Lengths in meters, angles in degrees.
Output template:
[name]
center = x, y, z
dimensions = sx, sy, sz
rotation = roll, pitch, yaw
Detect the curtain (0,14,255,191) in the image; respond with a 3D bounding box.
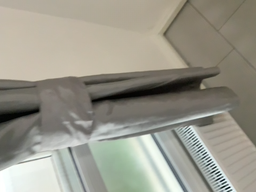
[curtain]
center = -0.280, 0.020, 0.470
dimensions = 0.470, 1.920, 0.170
rotation = 58, 133, 29
